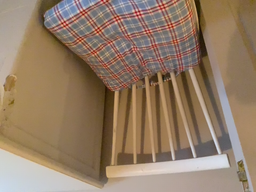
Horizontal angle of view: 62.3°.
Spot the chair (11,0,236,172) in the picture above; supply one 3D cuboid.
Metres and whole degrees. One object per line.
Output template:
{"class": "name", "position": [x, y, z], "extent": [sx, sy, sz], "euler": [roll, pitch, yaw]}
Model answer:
{"class": "chair", "position": [0.060, -0.200, 0.760], "extent": [0.400, 0.780, 0.540], "euler": [-14, 147, 21]}
